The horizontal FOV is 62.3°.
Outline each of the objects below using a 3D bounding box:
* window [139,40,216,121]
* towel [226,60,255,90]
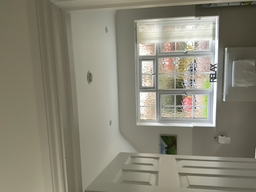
[{"bbox_3d":[0.840,-0.260,3.740,0.110,1.280,1.370,-37,-53,-78],"label":"window"},{"bbox_3d":[1.670,-0.300,3.090,0.140,0.400,0.420,-46,-45,-77],"label":"towel"}]
